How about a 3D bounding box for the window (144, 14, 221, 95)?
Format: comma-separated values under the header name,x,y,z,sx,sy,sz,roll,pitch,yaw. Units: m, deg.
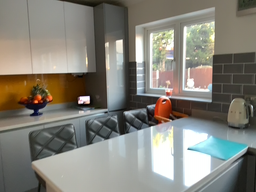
name,x,y,z,sx,sy,sz,roll,pitch,yaw
window,0.680,-0.510,2.880,0.240,0.900,1.060,-7,9,-40
